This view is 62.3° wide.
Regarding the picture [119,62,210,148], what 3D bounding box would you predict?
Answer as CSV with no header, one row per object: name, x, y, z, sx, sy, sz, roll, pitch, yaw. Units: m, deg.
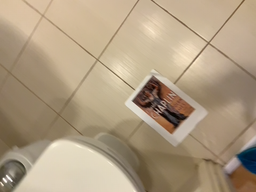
picture,0.150,0.040,0.920,0.320,0.010,0.220,39,104,5

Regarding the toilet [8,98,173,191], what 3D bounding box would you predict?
toilet,-0.160,0.370,0.810,0.370,0.440,0.560,40,104,5
